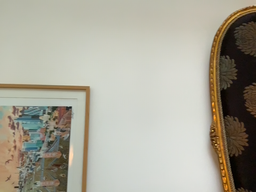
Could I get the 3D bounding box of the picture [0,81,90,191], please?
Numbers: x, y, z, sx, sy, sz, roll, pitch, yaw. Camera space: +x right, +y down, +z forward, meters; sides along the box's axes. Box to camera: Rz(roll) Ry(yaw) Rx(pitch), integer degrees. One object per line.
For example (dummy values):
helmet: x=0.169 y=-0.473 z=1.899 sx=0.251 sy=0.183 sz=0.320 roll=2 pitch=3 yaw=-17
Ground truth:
picture: x=-0.480 y=0.310 z=1.030 sx=0.030 sy=0.540 sz=0.780 roll=116 pitch=156 yaw=-73
